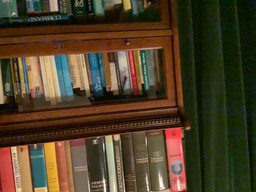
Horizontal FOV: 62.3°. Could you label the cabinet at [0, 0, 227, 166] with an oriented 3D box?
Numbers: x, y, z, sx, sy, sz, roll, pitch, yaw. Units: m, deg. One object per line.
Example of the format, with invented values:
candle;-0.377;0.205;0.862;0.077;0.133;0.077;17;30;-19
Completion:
cabinet;-0.250;-0.750;0.890;1.090;1.920;0.380;-4;-177;-7
